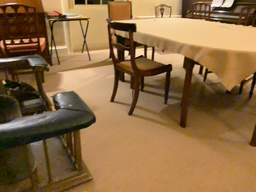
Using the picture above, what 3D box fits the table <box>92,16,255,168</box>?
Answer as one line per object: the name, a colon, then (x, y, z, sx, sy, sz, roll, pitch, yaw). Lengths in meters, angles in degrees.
table: (0.620, -0.420, 2.390, 1.250, 0.710, 2.300, -13, 28, -27)
